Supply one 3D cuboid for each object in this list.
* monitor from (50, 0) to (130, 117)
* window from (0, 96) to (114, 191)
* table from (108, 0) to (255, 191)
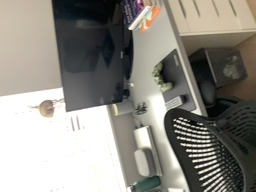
[{"bbox_3d":[-0.220,-0.250,1.420,0.070,0.470,0.750,-138,44,-54],"label":"monitor"},{"bbox_3d":[-0.670,0.590,1.550,0.070,1.050,1.040,142,115,-64],"label":"window"},{"bbox_3d":[0.490,0.070,1.460,0.800,0.720,1.540,141,116,-63],"label":"table"}]
